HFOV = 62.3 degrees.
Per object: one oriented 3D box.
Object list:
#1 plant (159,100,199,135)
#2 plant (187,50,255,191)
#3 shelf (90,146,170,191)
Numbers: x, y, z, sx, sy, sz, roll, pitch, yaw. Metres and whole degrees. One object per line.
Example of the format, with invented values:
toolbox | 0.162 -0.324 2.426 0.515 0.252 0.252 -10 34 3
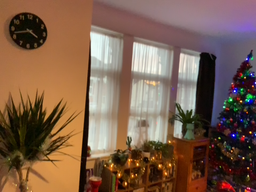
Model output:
plant | 0.850 0.340 3.560 0.410 0.490 0.470 3 3 -38
plant | 1.730 0.460 3.480 0.960 2.190 0.900 2 3 -41
shelf | 0.070 1.150 3.100 1.220 0.620 0.300 2 4 -38
